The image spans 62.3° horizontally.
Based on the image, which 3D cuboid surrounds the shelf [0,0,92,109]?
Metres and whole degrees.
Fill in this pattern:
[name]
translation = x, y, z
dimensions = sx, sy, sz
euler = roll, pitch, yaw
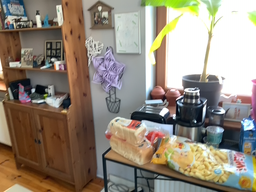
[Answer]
[shelf]
translation = -0.870, -0.490, 2.040
dimensions = 1.050, 1.070, 0.230
euler = 8, 20, 28
